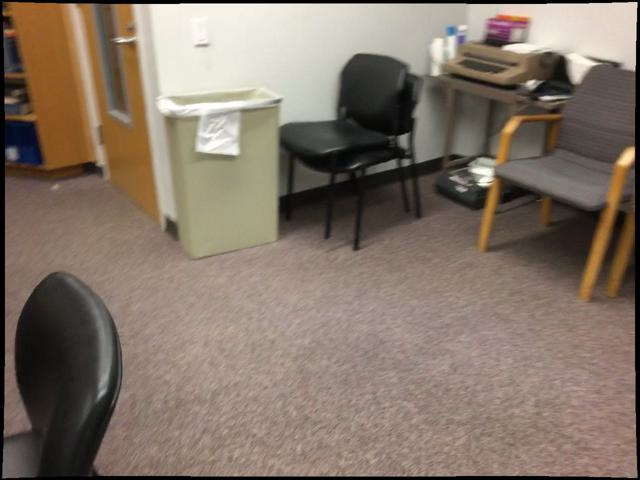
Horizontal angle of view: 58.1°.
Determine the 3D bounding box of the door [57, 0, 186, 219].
[{"bbox_3d":[-1.137,-1.323,3.020,0.200,2.194,1.119,-19,34,-33],"label":"door"}]
